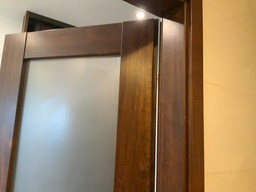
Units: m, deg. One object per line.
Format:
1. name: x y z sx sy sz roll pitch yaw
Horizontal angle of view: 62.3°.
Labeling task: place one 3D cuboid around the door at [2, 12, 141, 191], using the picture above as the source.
1. door: -0.260 0.710 0.740 0.530 2.070 0.060 0 -10 18
